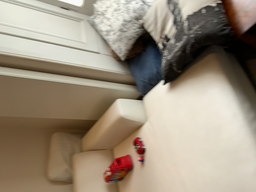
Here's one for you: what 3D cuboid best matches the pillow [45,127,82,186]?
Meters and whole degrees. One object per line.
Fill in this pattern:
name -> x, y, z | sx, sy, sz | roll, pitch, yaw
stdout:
pillow -> -0.690, 0.620, 2.240 | 0.190, 0.310, 0.550 | -48, 46, 45
